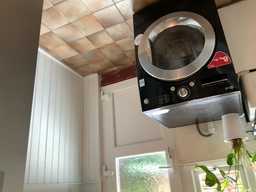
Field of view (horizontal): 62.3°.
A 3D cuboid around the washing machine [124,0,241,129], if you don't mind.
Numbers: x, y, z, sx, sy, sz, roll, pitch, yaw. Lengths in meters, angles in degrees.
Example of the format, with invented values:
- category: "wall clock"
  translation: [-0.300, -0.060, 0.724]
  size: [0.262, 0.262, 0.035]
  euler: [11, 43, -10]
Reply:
- category: "washing machine"
  translation: [0.430, -0.270, 1.680]
  size: [0.590, 0.850, 0.770]
  euler: [-14, 157, 20]

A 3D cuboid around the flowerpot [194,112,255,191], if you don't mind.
- category: "flowerpot"
  translation: [0.720, 0.430, 1.470]
  size: [0.350, 0.490, 0.430]
  euler: [-15, 156, 23]
